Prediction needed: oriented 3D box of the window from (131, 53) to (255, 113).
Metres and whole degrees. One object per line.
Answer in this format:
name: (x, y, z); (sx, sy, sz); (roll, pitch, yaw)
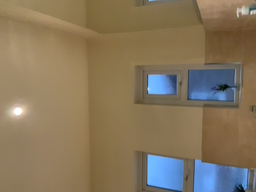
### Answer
window: (0.620, -0.140, 2.140); (0.210, 1.180, 0.520); (-17, -73, -67)

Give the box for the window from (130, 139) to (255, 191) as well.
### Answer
window: (0.690, 0.900, 2.290); (0.310, 1.300, 0.670); (-19, -70, -67)
